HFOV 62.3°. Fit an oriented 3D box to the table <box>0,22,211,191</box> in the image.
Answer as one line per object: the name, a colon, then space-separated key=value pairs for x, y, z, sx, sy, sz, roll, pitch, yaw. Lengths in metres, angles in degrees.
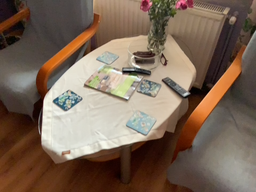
table: x=-0.020 y=0.070 z=1.320 sx=0.660 sy=0.490 sz=1.080 roll=22 pitch=49 yaw=19
